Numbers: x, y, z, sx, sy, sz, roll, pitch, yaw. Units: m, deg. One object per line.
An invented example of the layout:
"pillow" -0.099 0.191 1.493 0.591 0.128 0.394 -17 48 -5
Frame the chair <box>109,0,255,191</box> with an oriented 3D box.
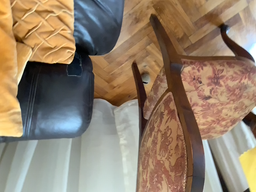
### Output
"chair" 0.240 0.020 0.820 0.510 0.890 0.410 9 134 -16
